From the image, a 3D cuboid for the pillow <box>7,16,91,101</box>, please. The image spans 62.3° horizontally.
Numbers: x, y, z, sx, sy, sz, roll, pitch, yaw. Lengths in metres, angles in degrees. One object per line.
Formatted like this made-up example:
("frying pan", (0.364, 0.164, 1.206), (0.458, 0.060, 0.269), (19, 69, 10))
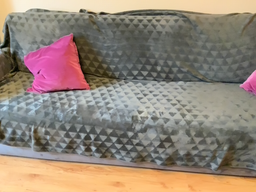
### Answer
("pillow", (-0.540, -0.240, 1.490), (0.400, 0.390, 0.240), (26, 35, -29))
